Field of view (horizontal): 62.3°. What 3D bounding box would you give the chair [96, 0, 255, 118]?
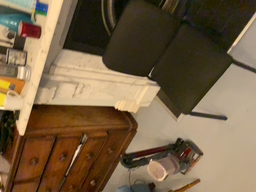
[{"bbox_3d":[0.350,-0.190,1.360,0.430,0.890,0.480,-58,48,30],"label":"chair"}]
